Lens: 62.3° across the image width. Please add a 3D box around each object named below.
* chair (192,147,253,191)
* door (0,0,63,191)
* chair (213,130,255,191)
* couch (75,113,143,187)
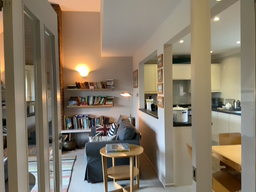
[{"bbox_3d":[0.890,0.930,2.050,0.440,0.770,0.360,-1,2,3],"label":"chair"},{"bbox_3d":[-0.570,0.350,1.220,0.180,2.070,0.810,-2,2,-5],"label":"door"},{"bbox_3d":[1.280,0.870,2.390,0.370,0.850,0.510,-2,2,-11],"label":"chair"},{"bbox_3d":[-0.400,0.860,3.980,0.980,0.820,1.710,-2,2,-9],"label":"couch"}]
